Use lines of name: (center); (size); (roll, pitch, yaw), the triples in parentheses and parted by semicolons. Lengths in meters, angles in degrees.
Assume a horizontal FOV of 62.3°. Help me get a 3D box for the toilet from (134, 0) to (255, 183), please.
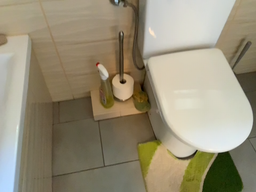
toilet: (0.290, -0.050, 0.960); (0.380, 0.790, 0.610); (-9, 56, -7)
